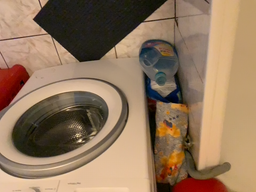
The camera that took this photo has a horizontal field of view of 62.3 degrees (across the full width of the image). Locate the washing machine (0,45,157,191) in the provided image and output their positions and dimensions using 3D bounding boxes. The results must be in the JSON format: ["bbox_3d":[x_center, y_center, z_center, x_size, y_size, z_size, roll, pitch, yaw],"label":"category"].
[{"bbox_3d":[-0.200,0.210,0.910,0.600,0.840,0.470,-6,127,7],"label":"washing machine"}]
